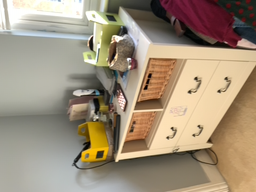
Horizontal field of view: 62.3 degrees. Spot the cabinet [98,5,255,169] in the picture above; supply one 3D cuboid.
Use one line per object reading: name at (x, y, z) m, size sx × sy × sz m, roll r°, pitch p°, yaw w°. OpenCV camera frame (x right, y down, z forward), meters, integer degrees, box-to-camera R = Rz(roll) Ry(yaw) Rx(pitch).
cabinet at (0.300, -0.040, 1.600) m, size 0.570 × 0.840 × 0.970 m, roll -115°, pitch 31°, yaw -46°
